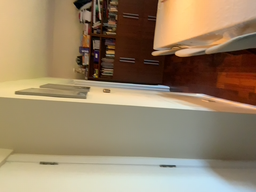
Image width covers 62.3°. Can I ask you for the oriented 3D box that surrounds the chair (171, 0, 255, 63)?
[{"bbox_3d":[0.910,-0.600,1.960,0.470,0.840,0.490,-137,52,-79],"label":"chair"}]
